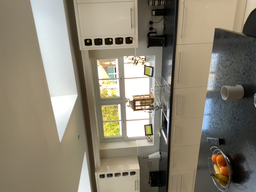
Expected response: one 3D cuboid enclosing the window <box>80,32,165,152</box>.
[{"bbox_3d":[-0.060,0.010,3.750,0.340,1.250,2.090,-102,9,-62],"label":"window"}]
